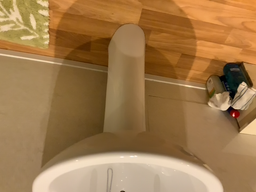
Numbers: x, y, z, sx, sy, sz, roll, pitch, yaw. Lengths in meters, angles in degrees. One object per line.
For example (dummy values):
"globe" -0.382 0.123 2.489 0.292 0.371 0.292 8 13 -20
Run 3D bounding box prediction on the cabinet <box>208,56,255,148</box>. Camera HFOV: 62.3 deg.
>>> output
"cabinet" 0.730 0.030 1.160 0.410 0.480 0.180 7 138 -6
